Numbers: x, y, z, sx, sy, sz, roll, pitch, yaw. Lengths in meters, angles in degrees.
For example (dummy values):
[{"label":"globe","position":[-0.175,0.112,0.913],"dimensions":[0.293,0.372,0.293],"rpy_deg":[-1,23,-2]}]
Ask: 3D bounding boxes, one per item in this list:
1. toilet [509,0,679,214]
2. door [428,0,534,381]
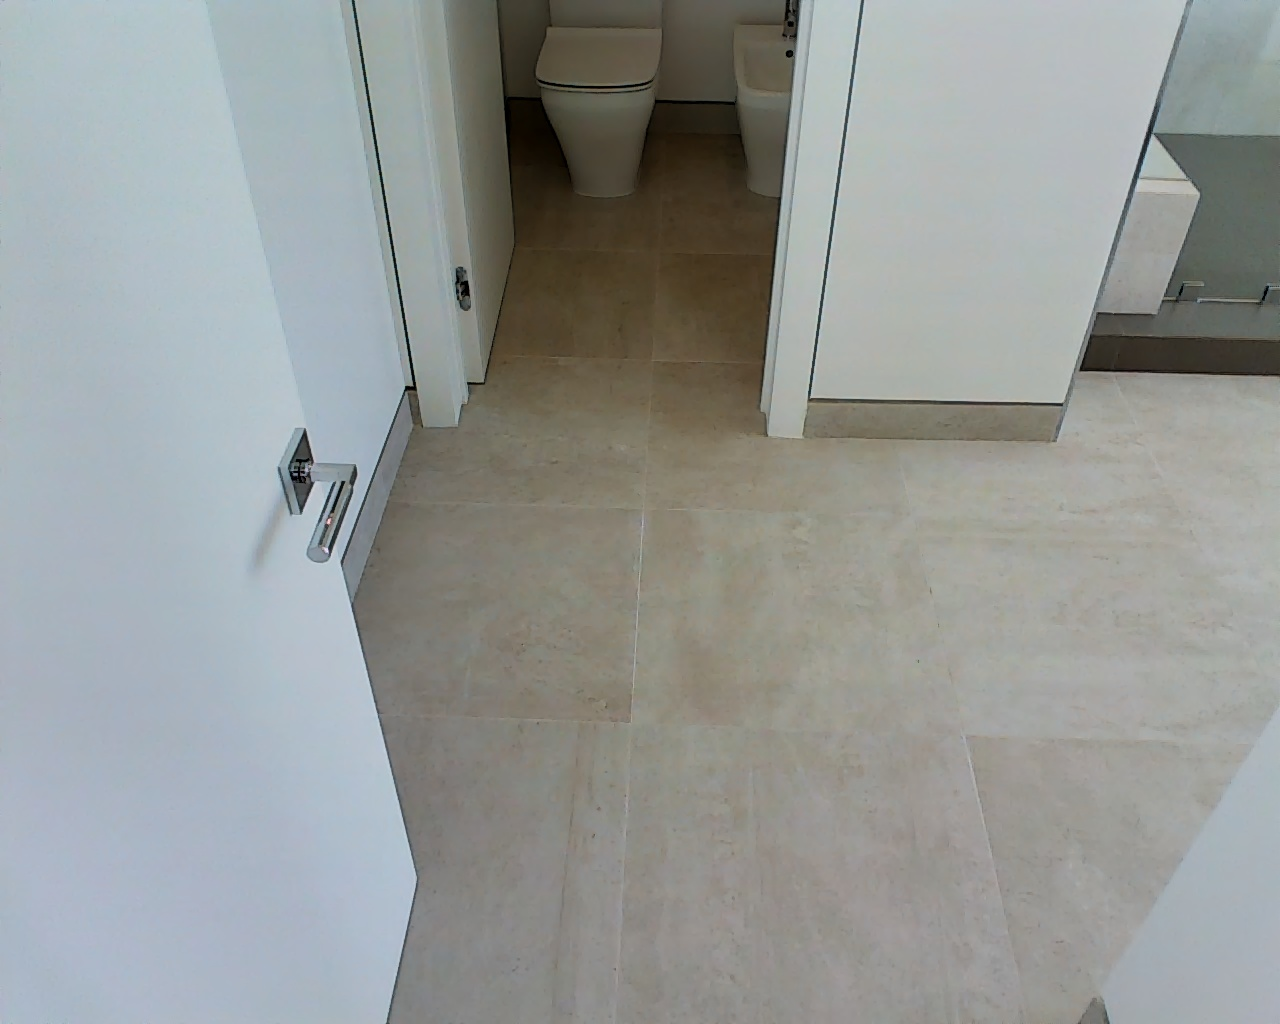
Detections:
[{"label":"toilet","position":[-0.120,-1.470,3.470],"dimensions":[0.480,0.730,0.720],"rpy_deg":[2,41,1]},{"label":"door","position":[-0.370,-1.530,2.240],"dimensions":[0.070,2.450,0.840],"rpy_deg":[2,41,1]}]
